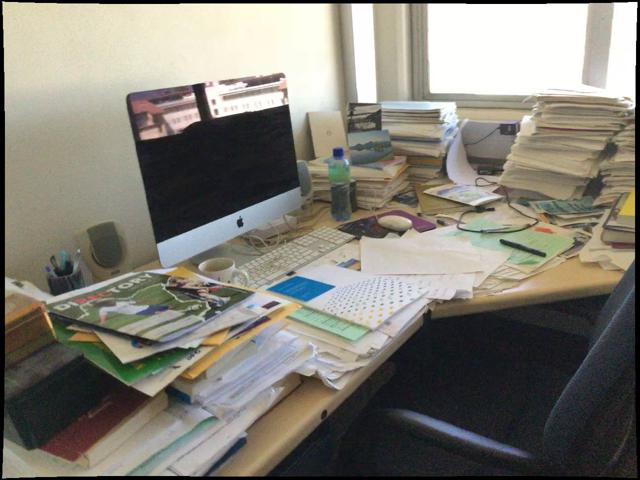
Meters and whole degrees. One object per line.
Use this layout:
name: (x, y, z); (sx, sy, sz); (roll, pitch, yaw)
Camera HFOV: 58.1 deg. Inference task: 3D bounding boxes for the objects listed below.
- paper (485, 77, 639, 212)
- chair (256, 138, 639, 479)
paper: (0.808, -0.331, 1.850); (0.409, 0.321, 0.420); (11, 26, 33)
chair: (0.359, 0.391, 1.240); (0.629, 1.062, 0.620); (11, 26, 33)
